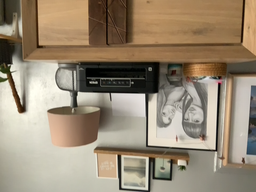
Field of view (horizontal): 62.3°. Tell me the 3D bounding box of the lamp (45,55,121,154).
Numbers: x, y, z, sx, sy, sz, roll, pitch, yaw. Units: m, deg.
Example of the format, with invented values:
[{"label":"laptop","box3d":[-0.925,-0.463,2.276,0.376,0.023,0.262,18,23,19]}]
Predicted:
[{"label":"lamp","box3d":[-0.230,0.030,1.170,0.340,0.480,0.240,2,-173,8]}]
